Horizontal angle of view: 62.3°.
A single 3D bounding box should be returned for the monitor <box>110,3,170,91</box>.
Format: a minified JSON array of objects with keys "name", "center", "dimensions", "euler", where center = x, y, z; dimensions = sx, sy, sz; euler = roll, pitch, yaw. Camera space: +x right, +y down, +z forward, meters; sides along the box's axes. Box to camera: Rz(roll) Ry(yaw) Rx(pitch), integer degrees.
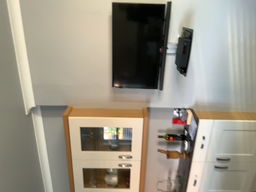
[{"name":"monitor","center":[0.090,-0.410,1.890],"dimensions":[0.060,0.490,0.760],"euler":[-92,3,-66]}]
